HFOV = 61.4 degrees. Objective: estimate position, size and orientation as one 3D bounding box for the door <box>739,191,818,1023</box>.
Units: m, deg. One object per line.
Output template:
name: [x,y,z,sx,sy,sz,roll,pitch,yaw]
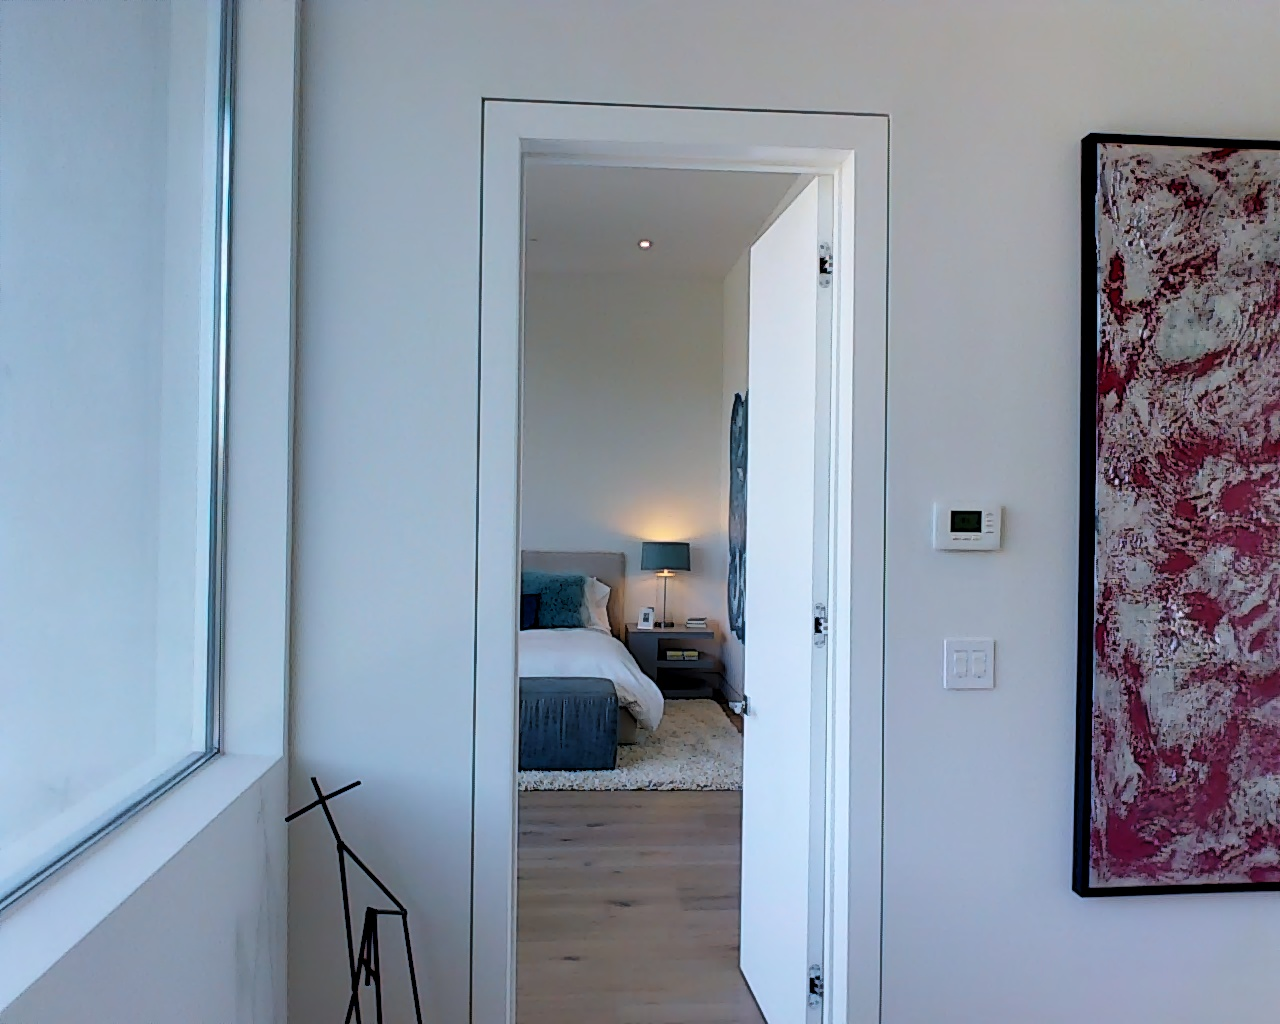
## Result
door: [0.410,0.330,3.290,0.070,2.400,0.730,1,0,-4]
